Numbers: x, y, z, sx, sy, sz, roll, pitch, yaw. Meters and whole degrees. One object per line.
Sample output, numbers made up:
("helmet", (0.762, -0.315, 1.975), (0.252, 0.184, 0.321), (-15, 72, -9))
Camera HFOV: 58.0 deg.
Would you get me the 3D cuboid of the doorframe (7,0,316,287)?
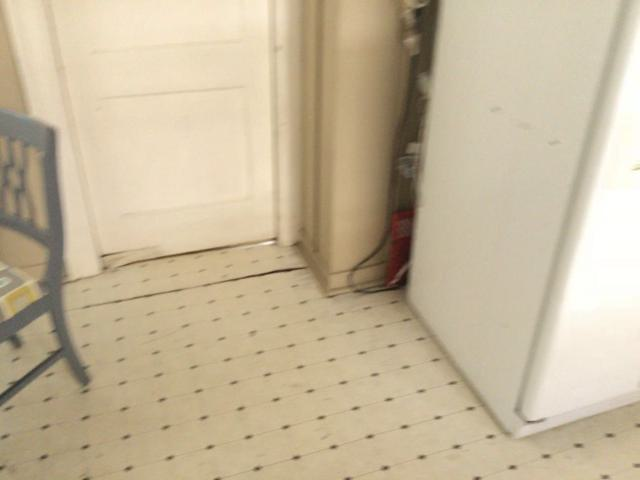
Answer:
("doorframe", (-0.520, -0.870, 1.920), (0.950, 2.210, 0.150), (-9, 32, -13))
